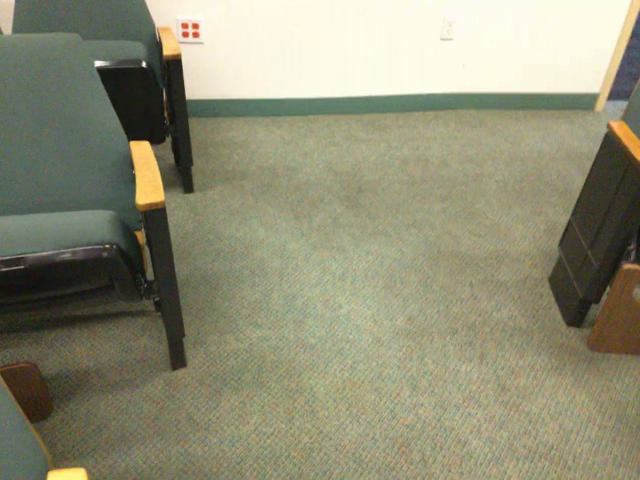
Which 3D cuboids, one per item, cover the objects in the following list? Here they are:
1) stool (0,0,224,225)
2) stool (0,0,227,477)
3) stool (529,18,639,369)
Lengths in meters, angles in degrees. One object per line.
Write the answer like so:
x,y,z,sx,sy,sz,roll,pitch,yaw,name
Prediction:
-0.750,-0.590,2.020,0.620,0.780,0.570,-13,34,-12,stool
-0.670,-0.040,1.330,0.670,0.870,0.640,-13,34,-12,stool
1.050,-0.140,1.600,0.670,0.830,0.470,-5,34,-1,stool
